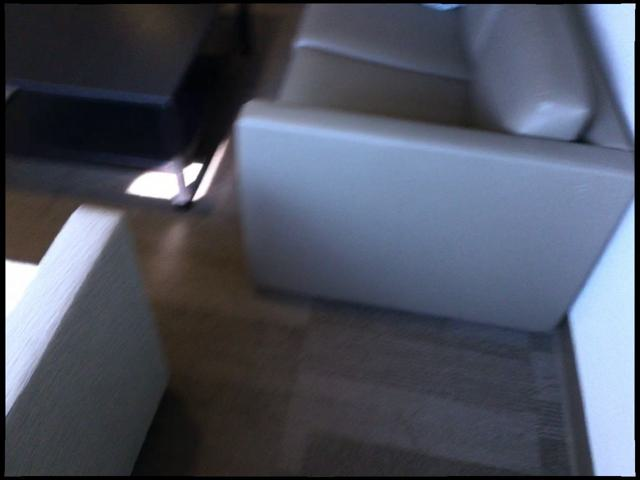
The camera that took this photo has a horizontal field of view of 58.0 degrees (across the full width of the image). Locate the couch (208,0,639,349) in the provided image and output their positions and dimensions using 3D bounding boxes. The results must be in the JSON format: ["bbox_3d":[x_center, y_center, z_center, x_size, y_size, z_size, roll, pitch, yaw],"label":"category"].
[{"bbox_3d":[0.319,-0.581,1.920,0.918,0.721,1.602,8,47,3],"label":"couch"}]
